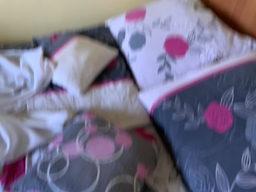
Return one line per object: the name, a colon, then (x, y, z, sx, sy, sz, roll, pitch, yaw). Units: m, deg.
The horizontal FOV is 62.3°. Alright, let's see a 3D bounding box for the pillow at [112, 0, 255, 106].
pillow: (0.290, -0.310, 1.230, 0.620, 0.210, 0.650, -11, 48, -13)
